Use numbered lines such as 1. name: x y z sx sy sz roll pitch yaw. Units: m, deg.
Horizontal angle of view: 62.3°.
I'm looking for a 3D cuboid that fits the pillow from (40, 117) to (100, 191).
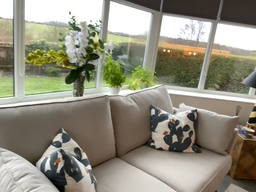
1. pillow: -0.330 0.440 1.200 0.210 0.470 0.390 -11 42 -23
